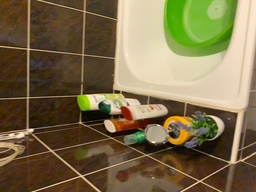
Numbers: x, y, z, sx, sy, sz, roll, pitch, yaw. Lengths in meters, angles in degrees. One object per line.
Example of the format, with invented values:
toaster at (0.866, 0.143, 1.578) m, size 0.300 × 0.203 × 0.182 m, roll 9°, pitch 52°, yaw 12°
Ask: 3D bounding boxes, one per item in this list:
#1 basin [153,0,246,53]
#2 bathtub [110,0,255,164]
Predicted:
basin at (0.370, -0.480, 1.130) m, size 0.410 × 0.200 × 0.460 m, roll 9°, pitch 99°, yaw 48°
bathtub at (0.380, -0.740, 1.020) m, size 0.670 × 0.560 × 1.840 m, roll 10°, pitch 100°, yaw 47°
